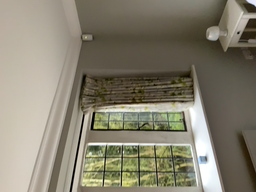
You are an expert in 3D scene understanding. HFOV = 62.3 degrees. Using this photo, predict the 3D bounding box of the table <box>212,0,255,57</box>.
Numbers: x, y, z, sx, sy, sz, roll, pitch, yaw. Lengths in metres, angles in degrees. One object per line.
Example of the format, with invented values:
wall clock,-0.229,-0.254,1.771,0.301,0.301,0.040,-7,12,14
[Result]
table,1.370,-0.760,2.280,0.480,0.680,0.470,90,180,-53
